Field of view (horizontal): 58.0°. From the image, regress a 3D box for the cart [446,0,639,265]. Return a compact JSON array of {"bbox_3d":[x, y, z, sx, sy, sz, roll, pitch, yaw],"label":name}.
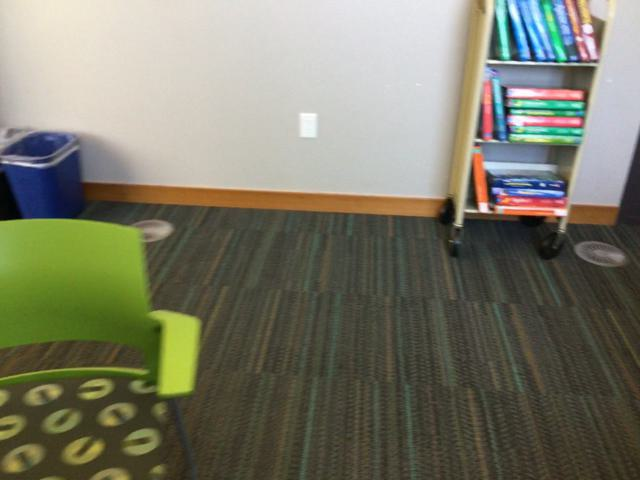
[{"bbox_3d":[0.860,-0.500,2.400,0.540,1.100,0.460,2,28,7],"label":"cart"}]
